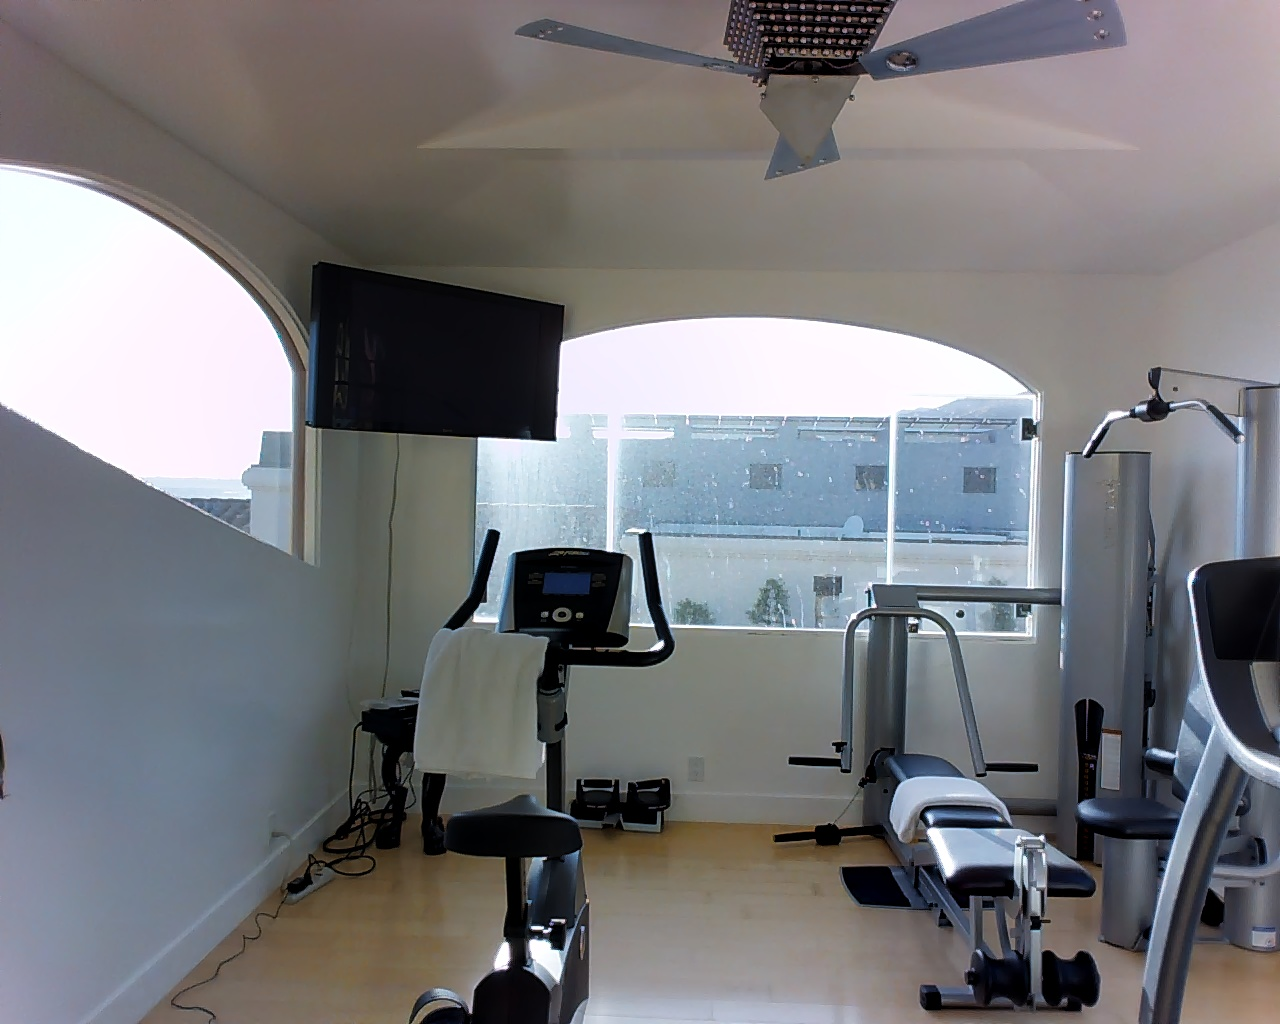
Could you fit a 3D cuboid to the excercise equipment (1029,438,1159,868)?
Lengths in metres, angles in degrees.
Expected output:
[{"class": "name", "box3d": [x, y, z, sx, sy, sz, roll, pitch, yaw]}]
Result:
[{"class": "excercise equipment", "box3d": [1.989, 0.580, 4.710, 0.410, 1.781, 0.350, 2, 1, 38]}]

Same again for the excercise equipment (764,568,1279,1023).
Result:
[{"class": "excercise equipment", "box3d": [1.229, 0.900, 4.020, 1.349, 1.221, 2.090, 1, 1, 2]}]
